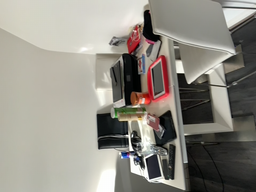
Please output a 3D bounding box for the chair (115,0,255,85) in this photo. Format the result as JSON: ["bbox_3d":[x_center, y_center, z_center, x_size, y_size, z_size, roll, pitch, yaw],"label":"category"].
[{"bbox_3d":[0.480,-0.380,1.470,0.520,0.990,0.420,141,126,-62],"label":"chair"}]
